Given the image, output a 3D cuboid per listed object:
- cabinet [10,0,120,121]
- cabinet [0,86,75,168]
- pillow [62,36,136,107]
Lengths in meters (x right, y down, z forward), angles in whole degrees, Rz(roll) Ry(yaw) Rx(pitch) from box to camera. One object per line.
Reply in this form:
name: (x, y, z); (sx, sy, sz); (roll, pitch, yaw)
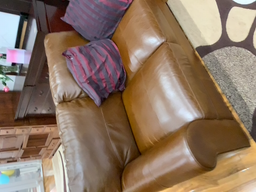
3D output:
cabinet: (-0.980, -0.360, 2.910); (1.710, 0.920, 0.620); (-49, 51, 42)
cabinet: (-2.050, 0.620, 3.790); (1.630, 1.590, 0.750); (-49, 51, 42)
pillow: (-0.220, -0.200, 1.610); (0.430, 0.370, 0.170); (51, 163, 31)
